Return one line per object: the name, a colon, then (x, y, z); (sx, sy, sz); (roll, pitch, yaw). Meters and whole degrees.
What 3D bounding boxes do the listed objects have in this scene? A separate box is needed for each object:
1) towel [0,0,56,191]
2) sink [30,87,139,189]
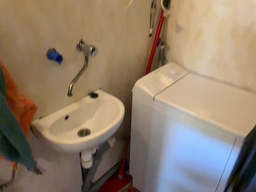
towel: (-0.430, 0.000, 0.620); (0.180, 0.660, 0.280); (27, 39, 33)
sink: (-0.180, 0.160, 0.990); (0.260, 0.200, 0.400); (27, 39, 32)
